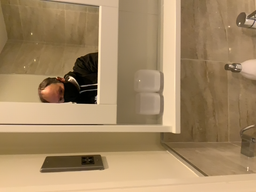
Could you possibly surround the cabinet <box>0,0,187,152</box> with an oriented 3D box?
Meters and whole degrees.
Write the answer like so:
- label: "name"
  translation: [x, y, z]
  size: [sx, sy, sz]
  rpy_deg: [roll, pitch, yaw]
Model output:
- label: "cabinet"
  translation: [-0.340, -0.290, 0.570]
  size: [0.160, 1.010, 0.840]
  rpy_deg: [163, 109, -76]
